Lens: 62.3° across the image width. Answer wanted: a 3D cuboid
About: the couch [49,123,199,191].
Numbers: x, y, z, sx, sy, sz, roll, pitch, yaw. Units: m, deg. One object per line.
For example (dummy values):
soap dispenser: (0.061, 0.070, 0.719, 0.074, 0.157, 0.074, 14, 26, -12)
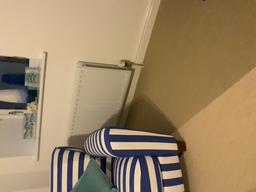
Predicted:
couch: (-0.110, 0.710, 1.630, 0.930, 0.840, 0.900, 155, 114, -62)
